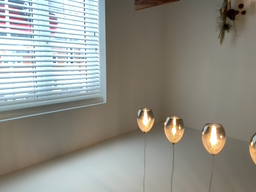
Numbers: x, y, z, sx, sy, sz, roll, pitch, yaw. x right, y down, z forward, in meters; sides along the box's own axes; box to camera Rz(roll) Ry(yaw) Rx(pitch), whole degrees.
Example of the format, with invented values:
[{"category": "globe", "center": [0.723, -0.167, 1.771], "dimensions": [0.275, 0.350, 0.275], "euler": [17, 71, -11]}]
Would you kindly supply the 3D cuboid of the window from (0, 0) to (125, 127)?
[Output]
[{"category": "window", "center": [-0.720, -0.590, 2.090], "dimensions": [1.730, 1.560, 0.200], "euler": [-9, -166, -44]}]
